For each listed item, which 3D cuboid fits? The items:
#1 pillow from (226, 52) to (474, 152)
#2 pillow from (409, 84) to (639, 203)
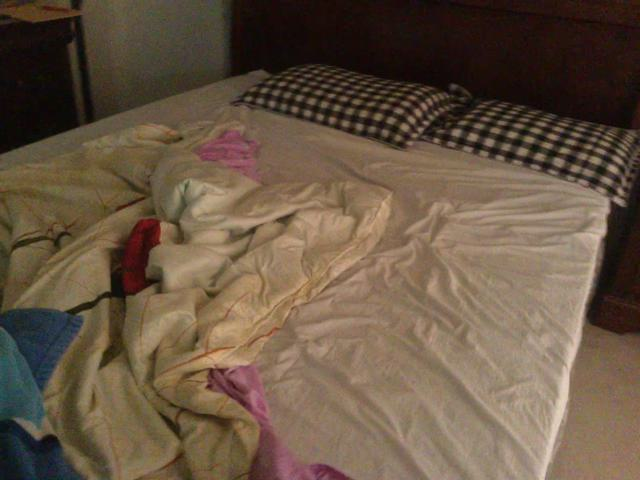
[{"bbox_3d":[0.110,-0.500,1.990,0.710,0.120,0.480,16,31,22],"label":"pillow"},{"bbox_3d":[0.670,-0.330,1.800,0.650,0.120,0.480,16,31,22],"label":"pillow"}]
